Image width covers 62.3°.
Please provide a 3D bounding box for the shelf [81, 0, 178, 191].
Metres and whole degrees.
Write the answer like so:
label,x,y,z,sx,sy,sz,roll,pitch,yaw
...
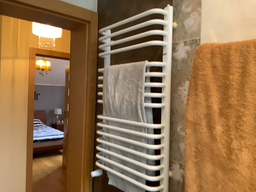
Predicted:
label,x,y,z,sx,sy,sz,roll,pitch,yaw
shelf,-0.040,0.020,1.290,0.190,1.120,0.670,2,1,-36
